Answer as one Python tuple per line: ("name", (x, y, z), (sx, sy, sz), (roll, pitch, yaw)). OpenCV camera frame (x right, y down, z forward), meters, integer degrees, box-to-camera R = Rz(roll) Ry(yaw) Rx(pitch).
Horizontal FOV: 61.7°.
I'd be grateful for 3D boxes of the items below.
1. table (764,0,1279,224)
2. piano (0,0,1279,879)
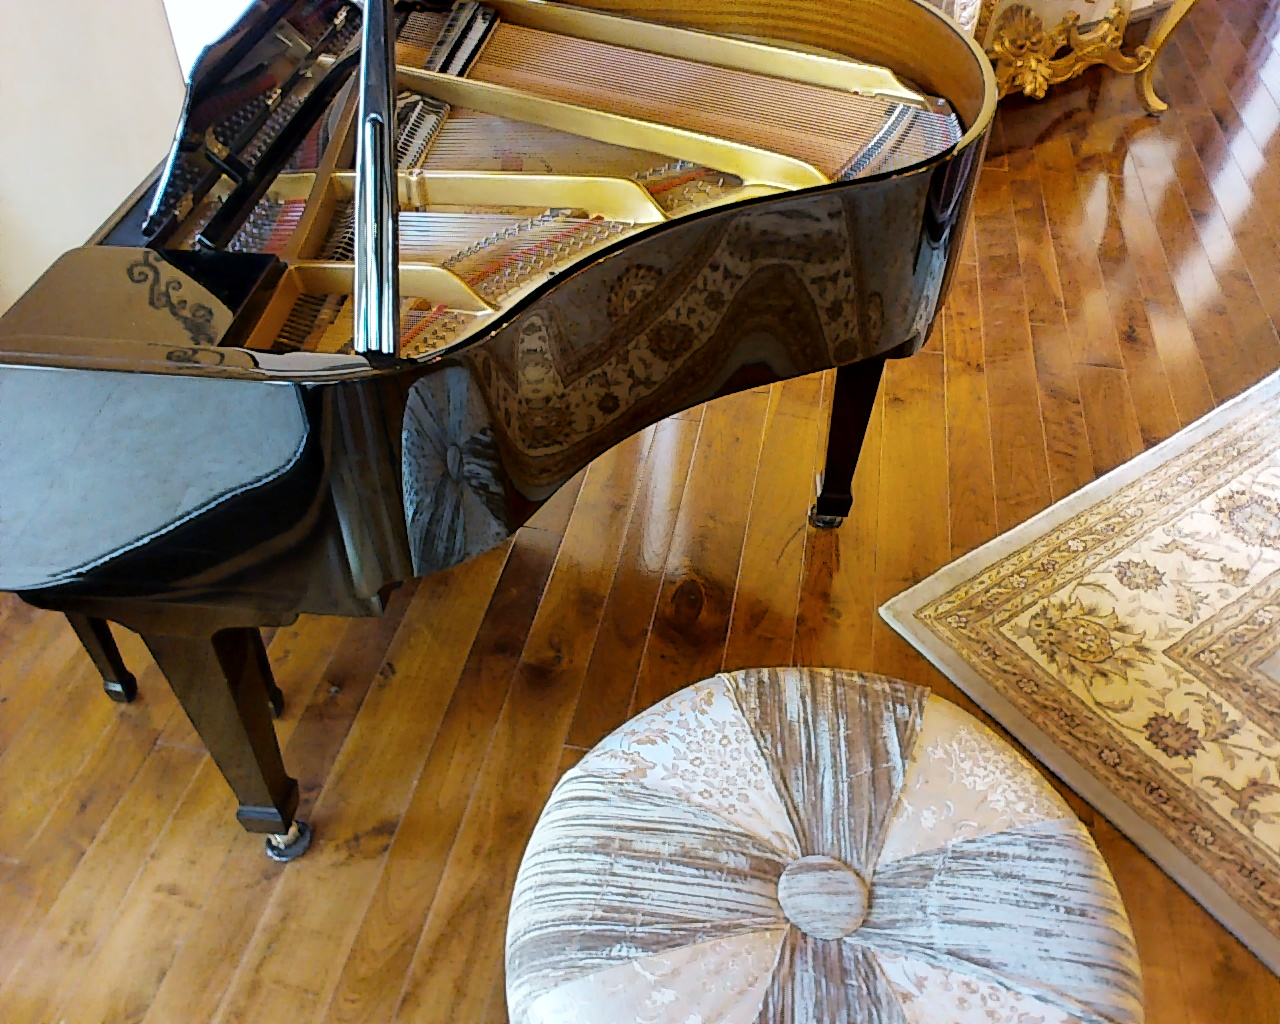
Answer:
("table", (1.360, -1.690, 3.550), (1.870, 0.810, 0.580), (-24, 48, -24))
("piano", (-0.140, -0.470, 1.810), (1.680, 1.420, 1.470), (3, 43, 2))
